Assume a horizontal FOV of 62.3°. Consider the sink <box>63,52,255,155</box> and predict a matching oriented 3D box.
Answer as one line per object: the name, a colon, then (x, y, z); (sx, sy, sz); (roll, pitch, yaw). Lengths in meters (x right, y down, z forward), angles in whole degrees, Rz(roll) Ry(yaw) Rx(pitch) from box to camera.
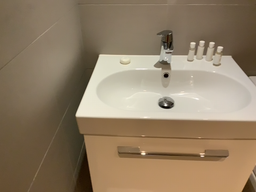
sink: (0.150, -0.010, 0.850); (0.660, 0.130, 0.470); (2, 35, 3)
